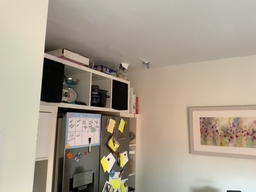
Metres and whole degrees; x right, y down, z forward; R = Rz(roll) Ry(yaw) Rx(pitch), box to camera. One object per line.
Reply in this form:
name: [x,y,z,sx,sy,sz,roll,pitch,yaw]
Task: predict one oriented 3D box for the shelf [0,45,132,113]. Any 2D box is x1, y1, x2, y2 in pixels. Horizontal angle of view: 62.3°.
shelf: [-0.600,-0.060,2.260,0.620,0.410,1.470,-2,-8,31]
